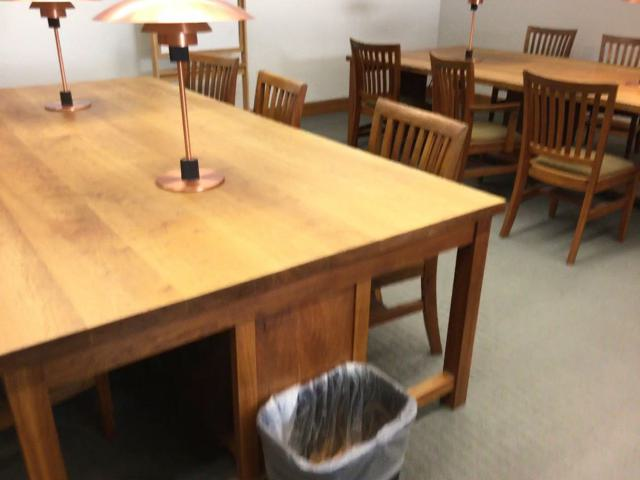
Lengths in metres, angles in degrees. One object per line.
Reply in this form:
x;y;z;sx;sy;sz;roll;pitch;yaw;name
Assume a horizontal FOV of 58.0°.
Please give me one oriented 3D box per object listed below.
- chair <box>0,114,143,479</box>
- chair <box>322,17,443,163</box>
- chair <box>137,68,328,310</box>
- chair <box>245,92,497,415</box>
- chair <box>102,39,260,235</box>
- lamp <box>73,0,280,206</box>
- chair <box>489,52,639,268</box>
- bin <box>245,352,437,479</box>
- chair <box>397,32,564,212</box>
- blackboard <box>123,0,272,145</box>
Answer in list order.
-0.960;0.200;1.610;0.620;0.920;0.590;-17;30;-33;chair
0.440;-1.160;4.370;0.520;0.930;0.710;-17;30;-33;chair
-0.390;-0.280;2.720;0.630;0.910;0.570;-17;30;-33;chair
0.160;0.000;2.100;0.620;0.910;0.550;-17;30;-33;chair
-0.800;-0.640;3.390;0.590;0.940;0.680;-17;30;-33;chair
-0.420;-0.460;1.710;0.390;0.530;0.480;-17;30;-33;lamp
1.360;-0.450;2.990;0.620;0.910;0.560;-17;30;-33;chair
0.050;0.580;1.480;0.370;0.390;0.280;-17;30;-33;bin
0.940;-0.760;3.590;0.630;0.930;0.680;-7;26;-16;chair
-0.970;-1.490;4.700;0.940;1.180;0.610;-17;30;-33;blackboard
